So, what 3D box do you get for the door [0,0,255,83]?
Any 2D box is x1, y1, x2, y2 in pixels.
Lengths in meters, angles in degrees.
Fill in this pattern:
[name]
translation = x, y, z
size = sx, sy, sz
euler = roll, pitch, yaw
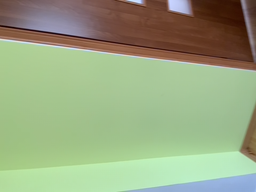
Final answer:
[door]
translation = 0.120, -0.660, 1.470
size = 0.100, 2.210, 1.020
euler = 145, 125, -63
